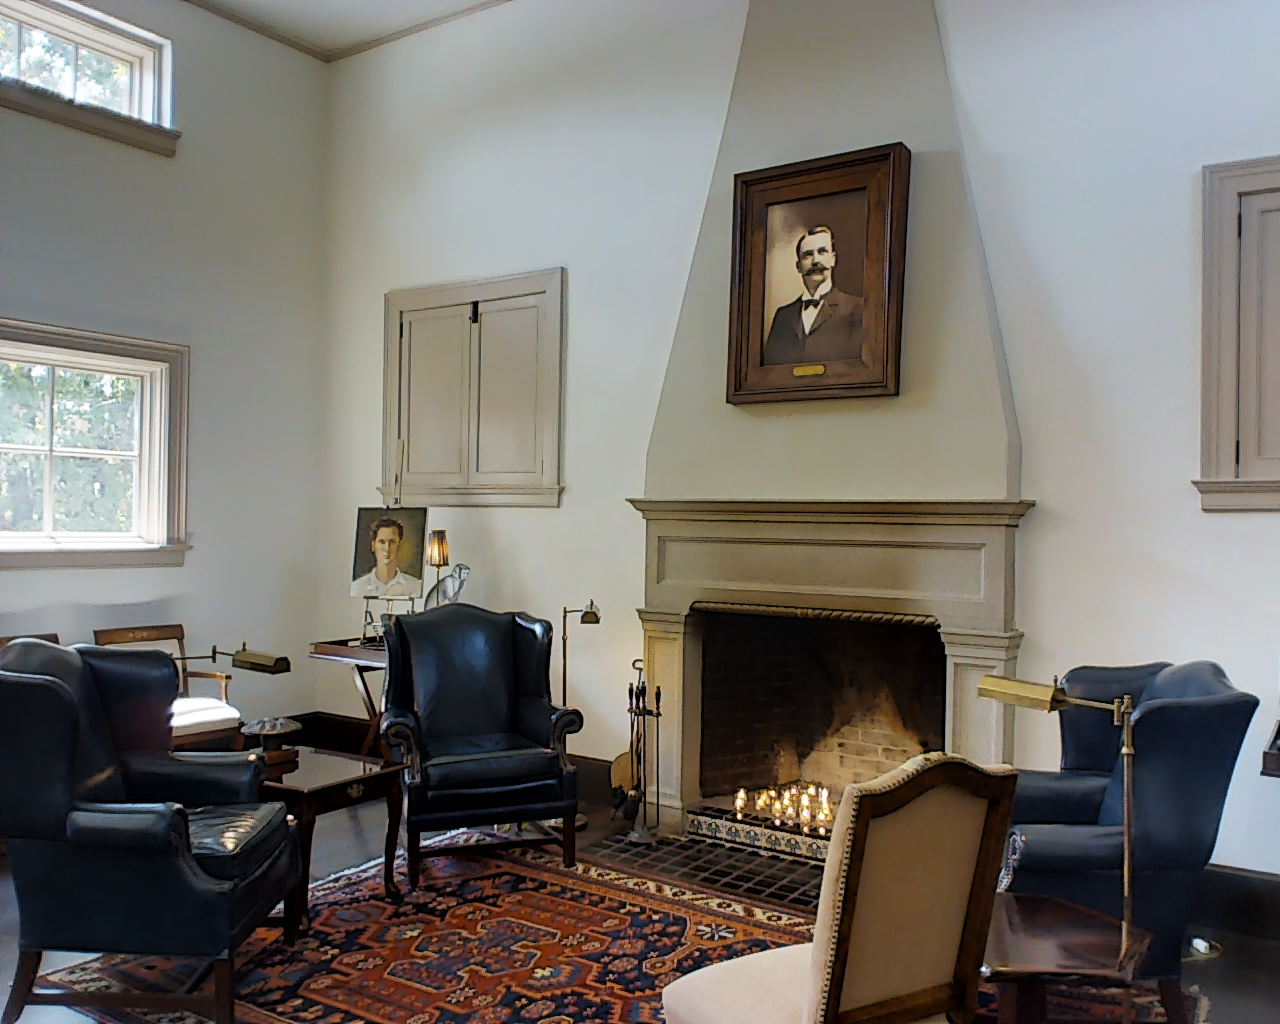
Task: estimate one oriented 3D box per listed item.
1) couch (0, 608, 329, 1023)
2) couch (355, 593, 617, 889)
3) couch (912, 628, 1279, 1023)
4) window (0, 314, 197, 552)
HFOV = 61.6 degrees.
[{"bbox_3d":[-1.570,0.910,3.400,0.890,1.110,0.950,1,0,-2],"label":"couch"},{"bbox_3d":[-0.720,0.940,4.800,0.950,1.080,0.920,1,0,-22],"label":"couch"},{"bbox_3d":[1.370,0.970,3.330,0.900,1.090,0.950,1,0,8],"label":"couch"},{"bbox_3d":[-2.990,-0.380,5.590,0.210,1.160,1.330,1,0,35],"label":"window"}]
